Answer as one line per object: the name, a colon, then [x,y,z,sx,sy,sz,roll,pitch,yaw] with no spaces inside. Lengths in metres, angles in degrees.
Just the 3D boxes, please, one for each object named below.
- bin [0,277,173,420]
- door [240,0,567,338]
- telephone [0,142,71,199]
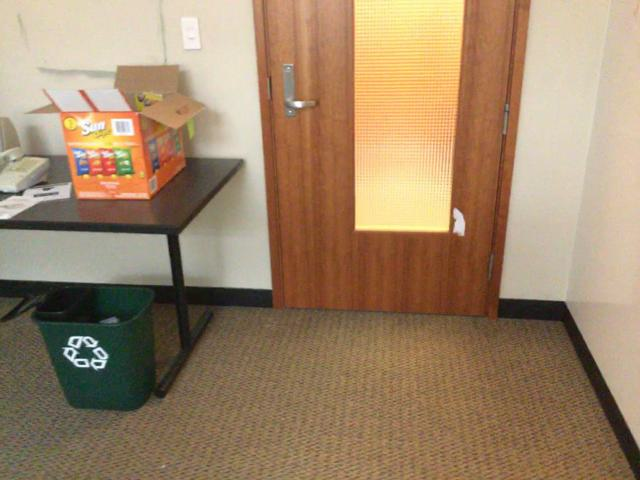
bin: [-0.830,0.380,2.080,0.490,0.380,0.290,3,21,4]
door: [0.280,-0.770,2.100,1.120,2.420,0.160,3,21,4]
telephone: [-1.080,-0.250,2.040,0.250,0.120,0.300,3,21,4]
